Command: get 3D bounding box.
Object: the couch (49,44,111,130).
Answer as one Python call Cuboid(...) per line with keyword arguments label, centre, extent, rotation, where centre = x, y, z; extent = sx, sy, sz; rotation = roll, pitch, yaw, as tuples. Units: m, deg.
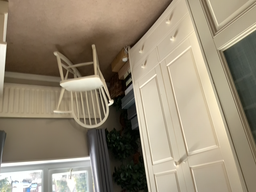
Cuboid(label="couch", centre=(-0.510, -0.080, 2.330), extent=(0.500, 0.720, 0.540), rotation=(-9, 158, -1))
